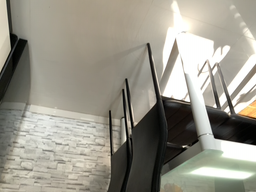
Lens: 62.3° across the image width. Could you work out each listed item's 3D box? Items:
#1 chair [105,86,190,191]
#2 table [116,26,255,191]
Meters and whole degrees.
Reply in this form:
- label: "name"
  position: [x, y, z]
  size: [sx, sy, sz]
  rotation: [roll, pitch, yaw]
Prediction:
- label: "chair"
  position: [0.110, 0.450, 1.620]
  size: [0.460, 0.920, 0.400]
  rotation: [12, 142, -17]
- label: "table"
  position: [0.440, 0.270, 1.550]
  size: [0.750, 0.740, 1.110]
  rotation: [11, 142, -16]
